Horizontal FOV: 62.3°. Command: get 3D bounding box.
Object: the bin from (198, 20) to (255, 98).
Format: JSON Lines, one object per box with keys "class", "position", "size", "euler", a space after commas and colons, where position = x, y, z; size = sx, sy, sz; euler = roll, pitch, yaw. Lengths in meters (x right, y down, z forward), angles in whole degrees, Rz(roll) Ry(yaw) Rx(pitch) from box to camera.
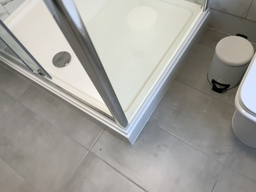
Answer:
{"class": "bin", "position": [0.520, -0.180, 1.090], "size": [0.190, 0.270, 0.230], "euler": [29, 71, 21]}
